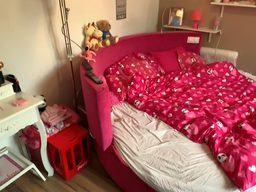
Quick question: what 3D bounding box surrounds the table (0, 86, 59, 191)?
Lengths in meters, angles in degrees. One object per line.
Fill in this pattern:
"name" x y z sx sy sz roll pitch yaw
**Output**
"table" -1.050 0.480 1.530 0.450 0.760 0.850 19 34 31
